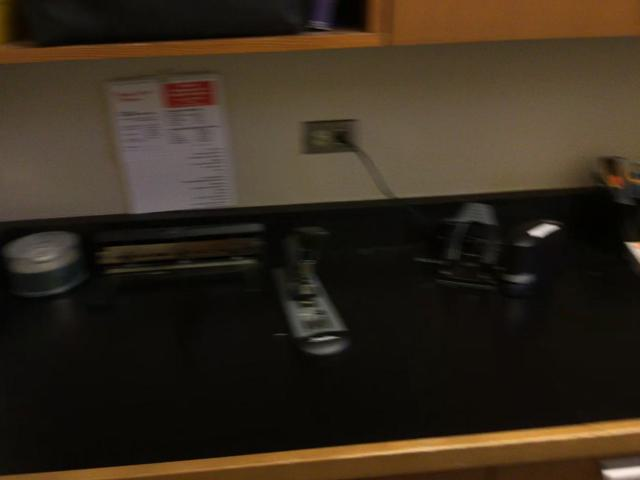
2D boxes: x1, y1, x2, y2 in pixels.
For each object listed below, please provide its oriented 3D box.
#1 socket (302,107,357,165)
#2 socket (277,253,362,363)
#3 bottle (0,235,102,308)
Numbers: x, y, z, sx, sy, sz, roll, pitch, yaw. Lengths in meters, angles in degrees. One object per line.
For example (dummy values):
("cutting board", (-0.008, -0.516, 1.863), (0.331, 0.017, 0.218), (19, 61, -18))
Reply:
("socket", (0.020, -0.220, 1.220), (0.110, 0.110, 0.030), (-4, 22, 0))
("socket", (-0.010, 0.110, 1.040), (0.090, 0.050, 0.300), (-8, 22, -10))
("bottle", (-0.550, 0.060, 1.150), (0.170, 0.080, 0.150), (-4, 22, 0))
